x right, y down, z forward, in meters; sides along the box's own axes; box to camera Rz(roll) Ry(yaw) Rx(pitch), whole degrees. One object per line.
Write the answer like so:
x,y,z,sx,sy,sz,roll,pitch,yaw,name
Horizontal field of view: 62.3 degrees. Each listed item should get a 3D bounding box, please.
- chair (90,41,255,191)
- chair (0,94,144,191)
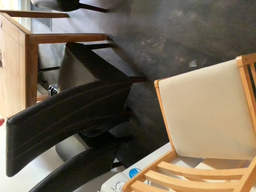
0.340,0.070,1.000,0.500,0.780,0.480,-16,90,46,chair
-0.530,0.480,1.800,0.690,1.080,0.500,40,127,31,chair
